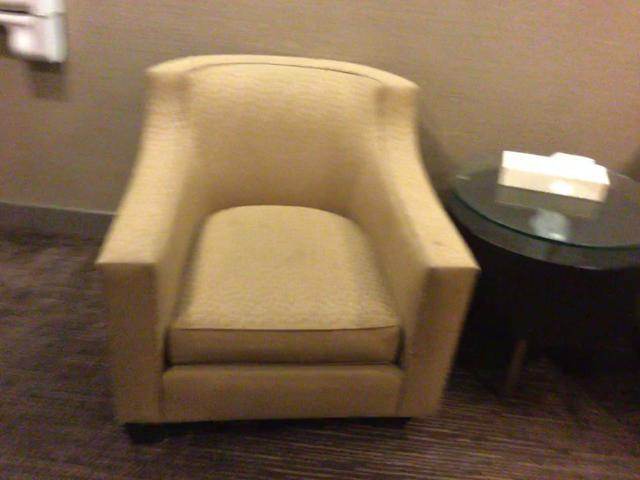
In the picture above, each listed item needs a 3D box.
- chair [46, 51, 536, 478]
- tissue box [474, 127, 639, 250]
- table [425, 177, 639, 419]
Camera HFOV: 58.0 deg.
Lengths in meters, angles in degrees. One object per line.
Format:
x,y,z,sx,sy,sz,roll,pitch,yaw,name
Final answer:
-0.100,-0.020,1.700,0.910,0.840,0.980,-1,28,-6,chair
0.670,-0.160,1.700,0.340,0.240,0.300,4,28,2,tissue box
0.650,0.160,1.710,0.570,0.550,0.390,4,28,2,table
